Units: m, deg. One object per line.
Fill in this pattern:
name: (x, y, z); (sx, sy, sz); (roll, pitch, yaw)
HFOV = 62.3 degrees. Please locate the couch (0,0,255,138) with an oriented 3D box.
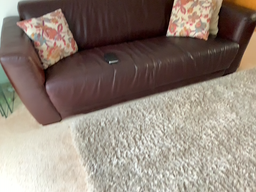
couch: (0.070, -0.520, 2.060); (2.180, 0.810, 0.900); (-15, 39, -18)
